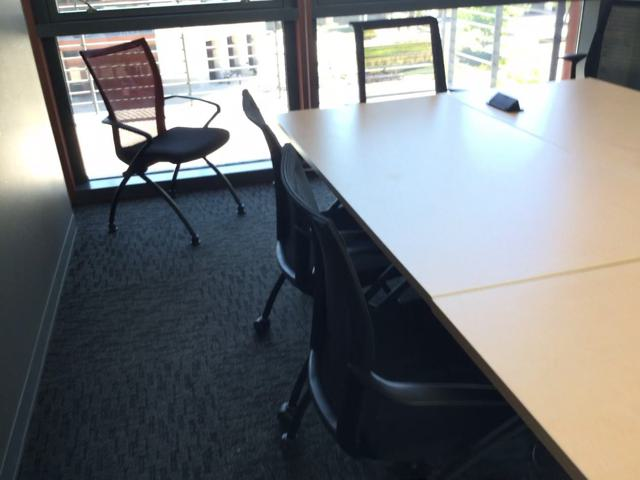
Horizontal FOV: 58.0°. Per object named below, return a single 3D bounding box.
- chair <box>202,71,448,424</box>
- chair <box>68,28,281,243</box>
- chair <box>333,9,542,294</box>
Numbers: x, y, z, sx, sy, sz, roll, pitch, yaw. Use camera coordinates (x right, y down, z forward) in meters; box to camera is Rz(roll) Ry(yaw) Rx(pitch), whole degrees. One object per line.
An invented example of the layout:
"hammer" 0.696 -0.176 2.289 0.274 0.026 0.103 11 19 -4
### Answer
"chair" 0.010 -0.010 1.830 0.560 0.860 0.580 -12 28 -12
"chair" -0.720 -0.580 3.060 0.640 0.900 0.650 11 33 33
"chair" 0.480 -0.430 2.580 0.590 1.000 0.740 -11 28 -9
